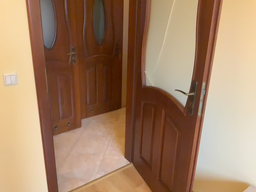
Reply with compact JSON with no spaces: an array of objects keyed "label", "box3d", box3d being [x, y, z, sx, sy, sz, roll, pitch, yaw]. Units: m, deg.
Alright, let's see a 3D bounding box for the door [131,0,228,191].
[{"label":"door","box3d":[0.280,-0.100,1.630,0.100,2.090,0.890,-5,21,-20]}]
